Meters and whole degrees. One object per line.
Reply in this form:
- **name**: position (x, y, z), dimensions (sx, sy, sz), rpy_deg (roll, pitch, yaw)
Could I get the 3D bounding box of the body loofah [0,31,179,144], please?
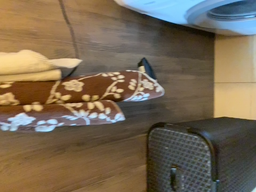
- **body loofah**: position (-0.170, -0.030, 0.630), dimensions (0.190, 0.810, 0.230), rpy_deg (4, 96, 49)
